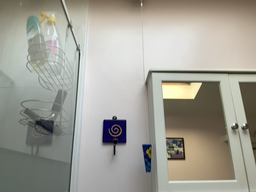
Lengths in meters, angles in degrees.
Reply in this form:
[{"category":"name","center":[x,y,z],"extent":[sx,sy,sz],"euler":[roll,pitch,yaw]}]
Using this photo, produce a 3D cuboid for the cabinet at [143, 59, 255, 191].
[{"category":"cabinet","center":[0.450,0.120,0.910],"extent":[0.740,0.540,0.130],"euler":[1,-20,-4]}]
